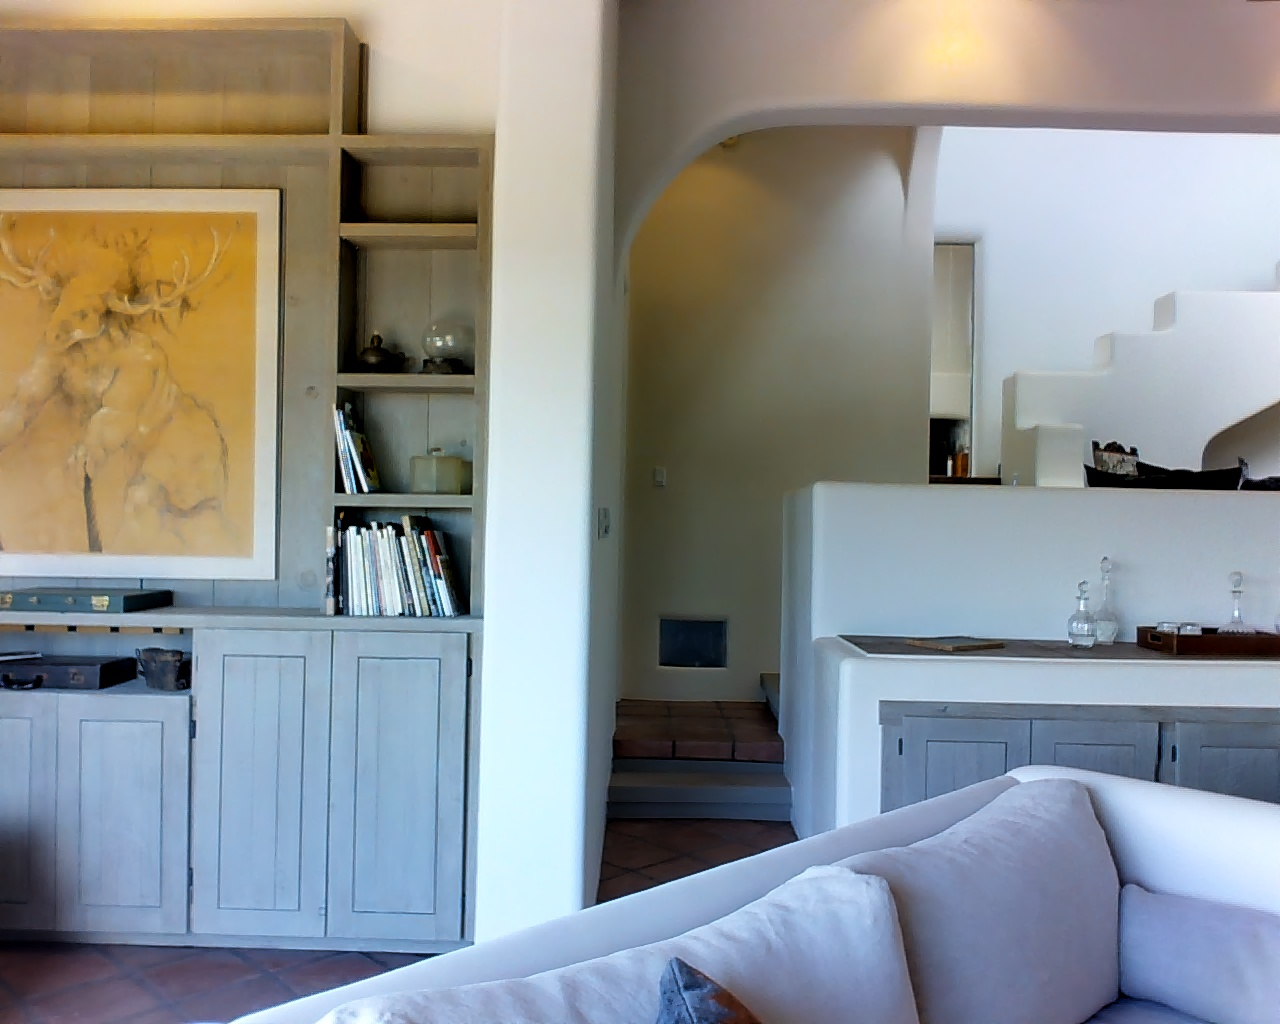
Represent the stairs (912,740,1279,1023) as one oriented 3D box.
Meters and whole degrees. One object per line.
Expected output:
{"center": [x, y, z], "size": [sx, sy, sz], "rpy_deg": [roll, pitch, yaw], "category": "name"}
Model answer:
{"center": [1.250, 0.810, 2.150], "size": [1.220, 0.370, 0.940], "rpy_deg": [1, -24, 24], "category": "stairs"}
